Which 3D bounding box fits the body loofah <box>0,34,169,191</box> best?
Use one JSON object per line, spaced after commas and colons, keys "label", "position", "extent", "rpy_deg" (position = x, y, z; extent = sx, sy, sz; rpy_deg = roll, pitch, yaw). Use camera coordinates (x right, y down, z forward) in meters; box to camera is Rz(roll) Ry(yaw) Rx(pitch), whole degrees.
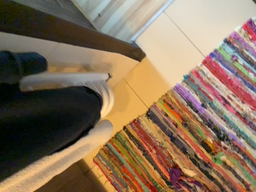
{"label": "body loofah", "position": [-0.290, 0.160, 0.500], "extent": [0.530, 1.270, 0.280], "rpy_deg": [-41, 83, 19]}
